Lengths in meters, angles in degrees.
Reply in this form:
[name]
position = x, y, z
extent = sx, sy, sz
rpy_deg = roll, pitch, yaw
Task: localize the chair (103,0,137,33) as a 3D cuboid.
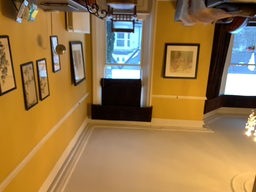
[chair]
position = -0.140, -1.820, 4.260
extent = 0.620, 1.040, 0.660
rpy_deg = 3, -164, 1
